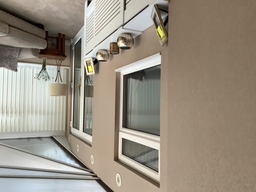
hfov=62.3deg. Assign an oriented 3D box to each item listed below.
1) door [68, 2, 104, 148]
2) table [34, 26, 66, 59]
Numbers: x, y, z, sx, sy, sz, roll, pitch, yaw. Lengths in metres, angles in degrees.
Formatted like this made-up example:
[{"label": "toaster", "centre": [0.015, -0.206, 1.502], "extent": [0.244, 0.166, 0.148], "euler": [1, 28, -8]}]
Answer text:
[{"label": "door", "centre": [-0.820, -0.300, 3.860], "extent": [0.140, 2.180, 1.550], "euler": [2, 177, -29]}, {"label": "table", "centre": [-1.620, -1.080, 4.380], "extent": [0.560, 0.480, 0.440], "euler": [2, 177, -28]}]
